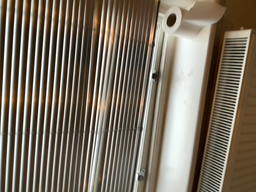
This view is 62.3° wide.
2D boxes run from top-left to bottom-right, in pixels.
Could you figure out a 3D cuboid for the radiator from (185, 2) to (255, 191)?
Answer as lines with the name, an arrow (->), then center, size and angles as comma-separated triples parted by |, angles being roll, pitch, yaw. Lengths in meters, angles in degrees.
radiator -> 0.510, 0.190, 0.900 | 0.120, 0.570, 0.950 | 15, 99, 54
